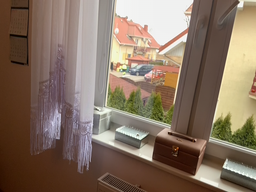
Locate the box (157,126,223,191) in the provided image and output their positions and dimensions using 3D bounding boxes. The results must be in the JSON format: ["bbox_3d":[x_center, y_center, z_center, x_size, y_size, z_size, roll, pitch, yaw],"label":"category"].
[{"bbox_3d":[0.330,0.310,1.120,0.250,0.180,0.240,15,16,30],"label":"box"}]
